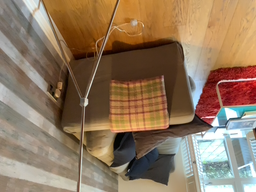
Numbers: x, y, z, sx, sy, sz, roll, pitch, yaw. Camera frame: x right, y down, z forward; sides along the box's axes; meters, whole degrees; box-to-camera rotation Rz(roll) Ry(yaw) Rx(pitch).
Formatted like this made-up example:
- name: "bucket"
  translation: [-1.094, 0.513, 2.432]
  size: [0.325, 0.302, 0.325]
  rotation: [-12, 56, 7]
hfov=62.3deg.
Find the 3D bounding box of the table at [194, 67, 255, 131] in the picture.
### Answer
- name: "table"
  translation: [1.200, 0.100, 2.590]
  size: [0.570, 0.330, 1.040]
  rotation: [-5, 153, 6]
